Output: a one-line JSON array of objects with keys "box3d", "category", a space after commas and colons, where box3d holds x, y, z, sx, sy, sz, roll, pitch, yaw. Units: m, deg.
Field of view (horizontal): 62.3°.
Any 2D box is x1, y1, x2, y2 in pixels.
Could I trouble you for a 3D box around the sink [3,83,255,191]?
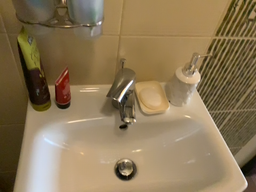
[{"box3d": [0.000, 0.150, 0.560, 0.530, 0.130, 0.380, -2, 48, -12], "category": "sink"}]
